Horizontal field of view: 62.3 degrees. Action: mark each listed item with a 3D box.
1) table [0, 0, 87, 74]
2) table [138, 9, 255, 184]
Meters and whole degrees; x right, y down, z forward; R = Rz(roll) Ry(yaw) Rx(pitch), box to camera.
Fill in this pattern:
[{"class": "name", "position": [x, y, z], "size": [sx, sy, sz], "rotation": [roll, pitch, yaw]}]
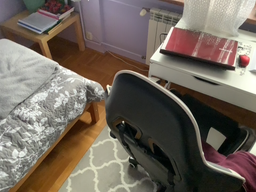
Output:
[{"class": "table", "position": [-0.890, -0.680, 2.300], "size": [0.600, 0.470, 0.570], "rotation": [24, 52, 18]}, {"class": "table", "position": [0.850, 0.060, 1.500], "size": [1.360, 0.760, 0.670], "rotation": [23, 52, 18]}]
